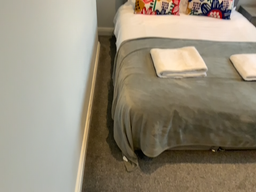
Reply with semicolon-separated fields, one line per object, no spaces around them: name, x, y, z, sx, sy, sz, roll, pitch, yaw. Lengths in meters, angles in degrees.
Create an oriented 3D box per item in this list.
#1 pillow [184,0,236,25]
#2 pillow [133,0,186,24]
pillow;1.010;-1.120;2.630;0.570;0.270;0.160;-12;42;13
pillow;0.380;-1.130;2.600;0.590;0.250;0.170;-15;42;9
